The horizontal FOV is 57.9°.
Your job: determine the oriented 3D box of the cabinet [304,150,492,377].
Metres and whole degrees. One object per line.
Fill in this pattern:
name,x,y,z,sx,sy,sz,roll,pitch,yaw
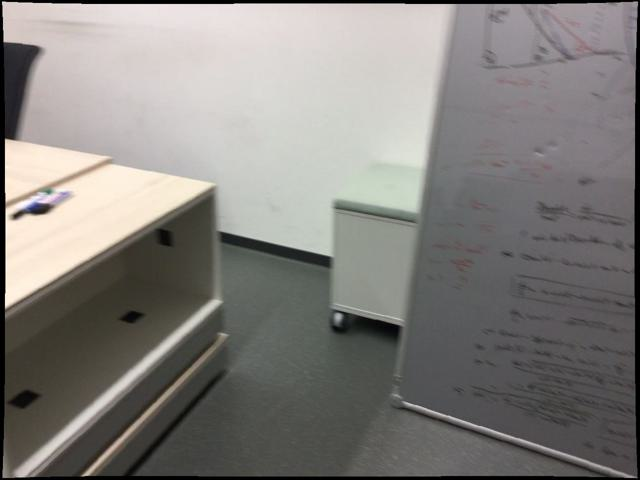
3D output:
cabinet,0.300,0.050,2.140,0.490,0.580,0.540,11,29,25
